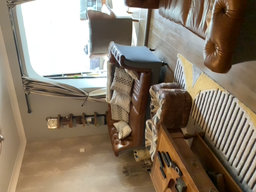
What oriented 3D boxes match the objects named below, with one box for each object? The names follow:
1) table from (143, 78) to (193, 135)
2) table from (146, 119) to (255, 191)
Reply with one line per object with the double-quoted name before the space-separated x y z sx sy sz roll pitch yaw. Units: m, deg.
"table" 0.470 0.120 2.670 0.470 0.390 0.520 -116 27 -57
"table" 0.640 0.940 2.000 1.260 0.470 0.800 -115 26 -56
